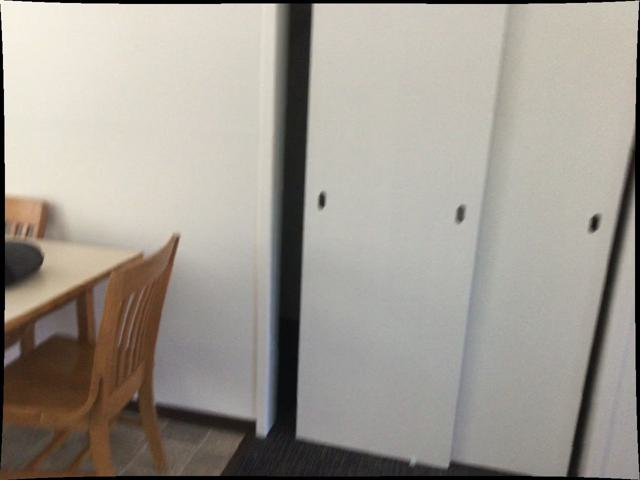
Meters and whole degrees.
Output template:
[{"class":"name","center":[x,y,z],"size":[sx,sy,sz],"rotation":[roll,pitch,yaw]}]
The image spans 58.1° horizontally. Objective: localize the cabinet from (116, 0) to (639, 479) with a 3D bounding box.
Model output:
[{"class":"cabinet","center":[0.329,-0.240,2.490],"size":[1.907,1.973,1.120],"rotation":[6,17,12]}]

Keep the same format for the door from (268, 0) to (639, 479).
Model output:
[{"class":"door","center":[0.419,-0.060,2.030],"size":[1.168,1.923,0.210],"rotation":[6,17,12]}]

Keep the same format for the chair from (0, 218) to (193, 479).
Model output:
[{"class":"chair","center":[-0.829,0.451,1.900],"size":[0.619,0.891,0.520],"rotation":[6,17,12]}]
